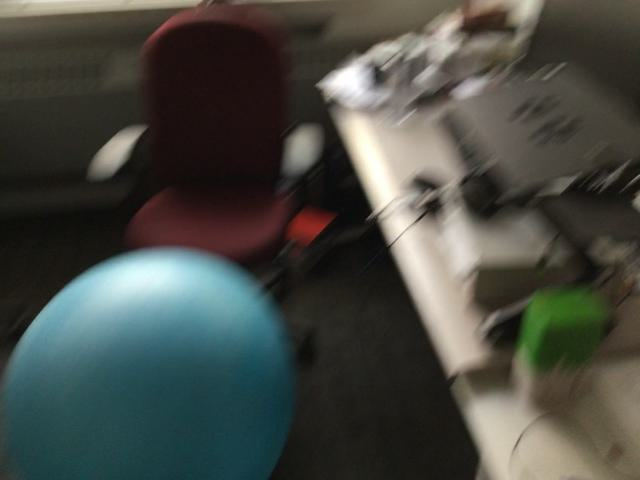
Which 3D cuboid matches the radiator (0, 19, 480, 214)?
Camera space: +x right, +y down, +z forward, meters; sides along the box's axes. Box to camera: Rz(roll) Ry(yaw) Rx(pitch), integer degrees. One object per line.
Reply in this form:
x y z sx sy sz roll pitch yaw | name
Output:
-0.770 -0.560 2.610 2.870 0.730 0.340 -4 33 -8 | radiator

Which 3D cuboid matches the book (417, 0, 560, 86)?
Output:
0.580 -0.780 2.030 0.370 0.380 0.290 -4 33 -8 | book

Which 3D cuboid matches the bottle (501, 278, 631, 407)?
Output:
0.400 0.170 0.960 0.130 0.180 0.100 -4 33 -8 | bottle
